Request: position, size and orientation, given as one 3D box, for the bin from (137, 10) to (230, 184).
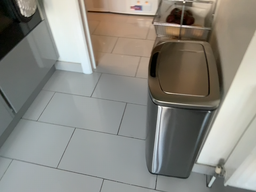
[{"bbox_3d":[0.290,0.000,1.220,0.320,0.660,0.700,10,48,11],"label":"bin"}]
